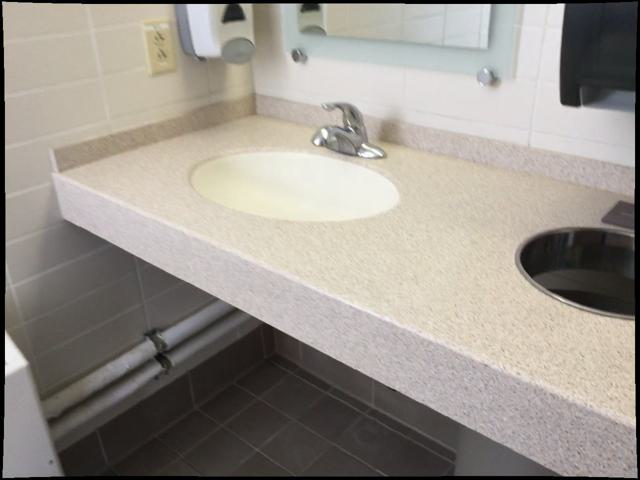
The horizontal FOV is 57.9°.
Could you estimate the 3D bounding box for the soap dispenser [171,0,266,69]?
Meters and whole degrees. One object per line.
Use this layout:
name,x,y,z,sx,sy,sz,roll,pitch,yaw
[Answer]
soap dispenser,-0.250,-0.571,1.400,0.130,0.260,0.170,20,36,37
